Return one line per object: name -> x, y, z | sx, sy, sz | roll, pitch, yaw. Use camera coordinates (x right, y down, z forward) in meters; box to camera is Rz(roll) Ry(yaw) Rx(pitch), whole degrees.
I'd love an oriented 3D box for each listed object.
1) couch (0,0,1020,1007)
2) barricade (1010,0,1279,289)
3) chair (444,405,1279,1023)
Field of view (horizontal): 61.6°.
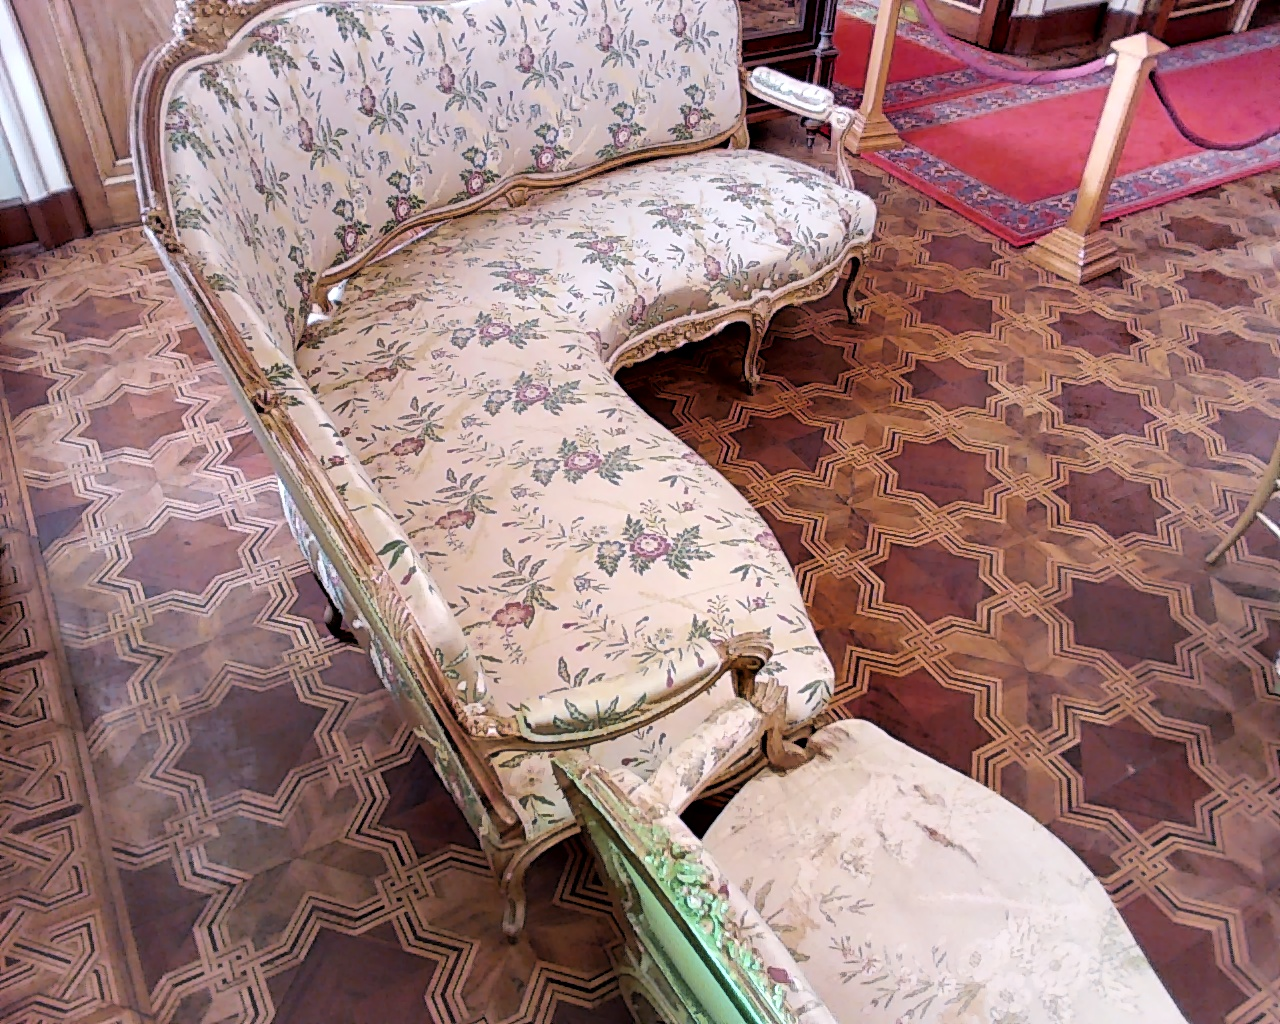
couch -> -0.170, -0.600, 2.590 | 1.600, 1.140, 2.810 | 8, 42, 7
barricade -> 2.349, -1.500, 3.990 | 2.060, 0.810, 0.320 | -20, 46, -22
chair -> 0.300, 0.560, 1.380 | 0.790, 1.000, 0.700 | -20, 46, -22
